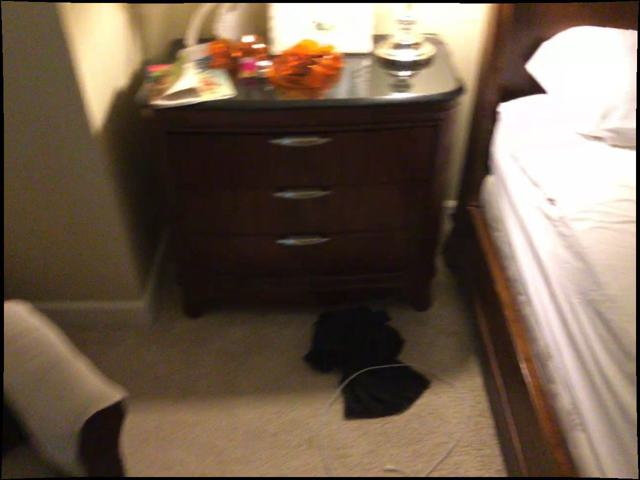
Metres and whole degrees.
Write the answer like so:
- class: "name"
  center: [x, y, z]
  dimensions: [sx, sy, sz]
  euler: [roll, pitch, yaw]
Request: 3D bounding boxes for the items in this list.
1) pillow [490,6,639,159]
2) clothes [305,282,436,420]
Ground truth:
- class: "pillow"
  center: [0.938, -0.431, 1.490]
  dimensions: [0.848, 0.180, 0.480]
  euler: [-2, 41, 0]
- class: "clothes"
  center: [0.130, 0.311, 1.690]
  dimensions: [0.339, 0.100, 0.410]
  euler: [-2, 41, 0]
